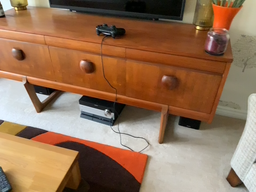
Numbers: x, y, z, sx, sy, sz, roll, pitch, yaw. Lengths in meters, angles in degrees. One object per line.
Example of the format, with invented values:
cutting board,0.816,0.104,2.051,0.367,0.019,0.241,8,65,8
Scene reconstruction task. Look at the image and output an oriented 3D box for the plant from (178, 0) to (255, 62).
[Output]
plant,0.500,-0.420,1.020,0.400,0.360,0.300,15,39,16
